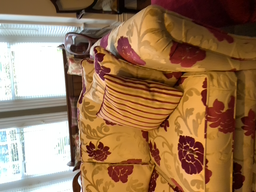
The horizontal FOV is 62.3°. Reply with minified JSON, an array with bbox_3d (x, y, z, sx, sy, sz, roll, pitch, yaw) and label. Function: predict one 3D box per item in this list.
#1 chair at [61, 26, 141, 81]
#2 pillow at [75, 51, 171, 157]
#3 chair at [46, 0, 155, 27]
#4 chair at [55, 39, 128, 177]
[{"bbox_3d":[-0.340,-0.510,2.550,0.360,0.820,0.490,131,129,-60],"label":"chair"},{"bbox_3d":[0.000,0.070,1.170,0.140,0.450,0.470,46,161,26],"label":"pillow"},{"bbox_3d":[-0.290,-1.030,2.110,0.520,0.980,0.530,-163,69,-66],"label":"chair"},{"bbox_3d":[-0.530,0.130,3.120,0.510,0.850,1.800,-167,73,-66],"label":"chair"}]
